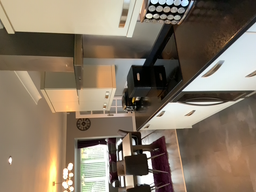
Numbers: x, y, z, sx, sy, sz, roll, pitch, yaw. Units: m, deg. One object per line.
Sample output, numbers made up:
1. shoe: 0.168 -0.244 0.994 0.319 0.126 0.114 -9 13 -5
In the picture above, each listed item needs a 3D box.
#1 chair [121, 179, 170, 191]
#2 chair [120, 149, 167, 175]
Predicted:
1. chair: 0.350 2.020 4.430 0.510 0.910 0.440 115 151 -66
2. chair: 0.310 1.440 4.620 0.510 0.890 0.440 115 151 -66
